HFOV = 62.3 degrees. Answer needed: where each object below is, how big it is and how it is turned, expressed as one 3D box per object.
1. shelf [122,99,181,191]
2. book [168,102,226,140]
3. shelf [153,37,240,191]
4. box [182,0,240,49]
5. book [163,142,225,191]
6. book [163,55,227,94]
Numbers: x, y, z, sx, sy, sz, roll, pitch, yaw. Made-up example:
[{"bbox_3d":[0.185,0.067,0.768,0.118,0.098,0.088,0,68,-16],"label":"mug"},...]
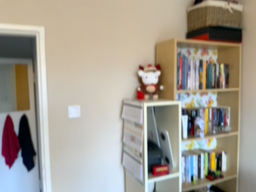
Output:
[{"bbox_3d":[0.170,0.780,1.600,0.290,1.480,0.340,-3,4,-26],"label":"shelf"},{"bbox_3d":[0.590,0.200,1.810,0.480,0.260,0.170,-3,4,-23],"label":"book"},{"bbox_3d":[0.590,0.530,1.820,0.670,1.940,0.290,-3,4,-26],"label":"shelf"},{"bbox_3d":[0.700,-0.650,1.810,0.360,0.430,0.280,-3,4,-22],"label":"box"},{"bbox_3d":[0.590,0.610,1.880,0.530,0.290,0.190,-3,4,-26],"label":"book"},{"bbox_3d":[0.570,-0.180,1.810,0.510,0.300,0.190,-2,4,-18],"label":"book"}]
